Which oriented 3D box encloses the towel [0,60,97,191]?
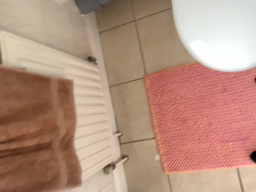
[{"bbox_3d":[-0.240,0.110,0.590,0.070,0.410,0.360,-13,83,17],"label":"towel"}]
